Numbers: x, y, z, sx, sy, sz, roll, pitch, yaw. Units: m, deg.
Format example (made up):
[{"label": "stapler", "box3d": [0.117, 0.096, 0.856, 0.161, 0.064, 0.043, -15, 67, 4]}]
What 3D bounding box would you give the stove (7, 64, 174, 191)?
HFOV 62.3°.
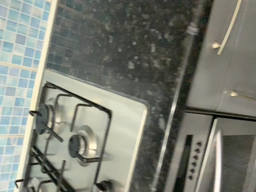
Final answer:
[{"label": "stove", "box3d": [-0.200, 0.240, 0.570, 0.590, 0.030, 0.590, 18, 96, 46]}]
